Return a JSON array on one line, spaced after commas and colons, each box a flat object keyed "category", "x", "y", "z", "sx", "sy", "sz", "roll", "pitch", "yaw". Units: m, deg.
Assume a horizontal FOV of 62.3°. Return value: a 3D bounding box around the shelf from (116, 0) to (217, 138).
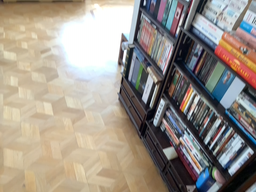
[{"category": "shelf", "x": 0.170, "y": -0.230, "z": 1.530, "sx": 0.230, "sy": 1.030, "sz": 0.510, "roll": -11, "pitch": 47, "yaw": -23}]
